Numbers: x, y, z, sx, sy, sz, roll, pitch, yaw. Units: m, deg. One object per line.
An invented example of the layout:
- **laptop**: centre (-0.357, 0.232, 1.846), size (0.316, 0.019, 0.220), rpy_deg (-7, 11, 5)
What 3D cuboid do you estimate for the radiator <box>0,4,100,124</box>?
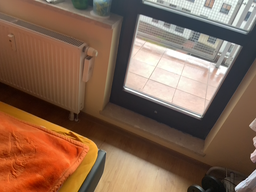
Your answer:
- **radiator**: centre (-0.720, -0.250, 1.690), size (0.940, 0.690, 0.190), rpy_deg (22, 40, 9)
